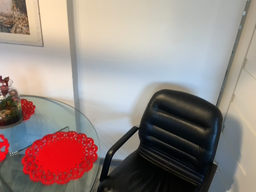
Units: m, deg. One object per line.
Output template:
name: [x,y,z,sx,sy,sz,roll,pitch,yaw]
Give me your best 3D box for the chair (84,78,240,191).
chair: [0.200,0.490,1.340,0.550,0.910,0.730,22,33,29]
